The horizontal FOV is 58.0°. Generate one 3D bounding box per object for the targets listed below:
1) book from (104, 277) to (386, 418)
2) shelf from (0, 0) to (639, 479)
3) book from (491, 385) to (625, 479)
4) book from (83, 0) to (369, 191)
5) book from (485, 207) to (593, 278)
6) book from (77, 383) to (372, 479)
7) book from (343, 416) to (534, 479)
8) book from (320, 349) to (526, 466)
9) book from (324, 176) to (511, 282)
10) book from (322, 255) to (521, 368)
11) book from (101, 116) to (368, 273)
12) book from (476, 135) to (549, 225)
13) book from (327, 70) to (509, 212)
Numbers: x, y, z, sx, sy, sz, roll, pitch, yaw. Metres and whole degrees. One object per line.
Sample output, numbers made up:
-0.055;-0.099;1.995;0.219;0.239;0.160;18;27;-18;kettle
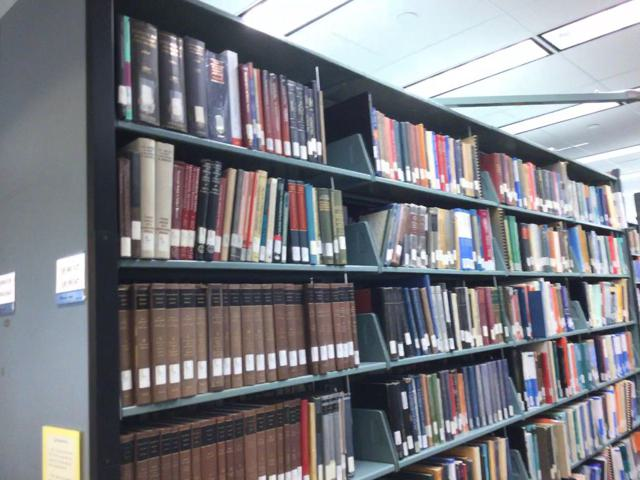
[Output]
-0.130;0.240;1.490;0.060;0.280;0.850;-14;-13;42;book
0.170;0.730;2.850;1.810;2.610;3.800;-14;-13;42;shelf
1.120;0.890;2.660;0.230;0.320;0.850;-14;-13;42;book
-0.200;-0.350;1.580;0.130;0.320;0.840;-14;-13;42;book
1.100;0.030;2.850;0.160;0.290;0.800;-14;-13;42;book
-0.190;0.560;1.440;0.180;0.300;0.750;-14;-13;42;book
0.470;0.870;2.090;0.210;0.300;0.880;-14;-13;42;book
0.420;0.590;2.160;0.280;0.270;0.890;-14;-13;42;book
0.410;-0.010;2.200;0.190;0.310;0.910;-14;-13;42;book
0.420;0.260;2.190;0.250;0.340;0.890;-14;-13;42;book
-0.170;-0.080;1.510;0.070;0.320;0.790;-14;-13;42;book
0.880;-0.260;2.620;0.090;0.340;0.430;-14;-13;42;book
0.420;-0.340;2.240;0.150;0.360;0.940;-14;-13;42;book
